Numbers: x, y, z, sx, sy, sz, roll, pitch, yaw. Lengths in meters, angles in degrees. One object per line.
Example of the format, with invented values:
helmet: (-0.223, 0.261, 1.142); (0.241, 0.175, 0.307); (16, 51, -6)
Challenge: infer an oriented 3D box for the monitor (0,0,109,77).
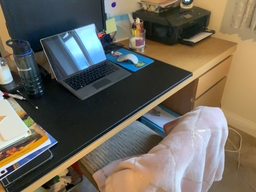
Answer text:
monitor: (-0.310, -0.380, 1.040); (0.030, 0.420, 0.520); (27, 44, 35)
